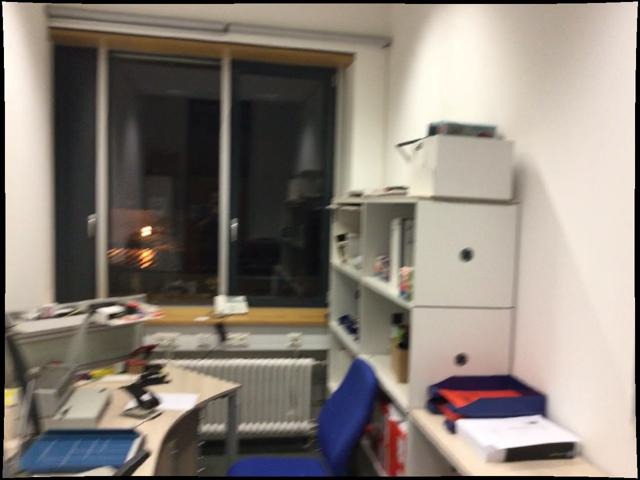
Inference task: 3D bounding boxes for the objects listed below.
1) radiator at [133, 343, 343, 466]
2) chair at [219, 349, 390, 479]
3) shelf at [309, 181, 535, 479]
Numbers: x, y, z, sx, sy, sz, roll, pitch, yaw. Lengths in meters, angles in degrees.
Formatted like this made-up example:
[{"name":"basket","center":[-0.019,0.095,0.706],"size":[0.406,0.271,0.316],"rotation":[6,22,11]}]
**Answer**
[{"name":"radiator","center":[-0.509,1.021,3.670],"size":[1.259,0.651,0.270],"rotation":[1,5,-12]},{"name":"chair","center":[-0.100,0.981,2.500],"size":[0.649,0.901,0.440],"rotation":[1,5,-12]},{"name":"shelf","center":[0.330,0.591,2.880],"size":[0.400,1.742,1.780],"rotation":[1,5,-12]}]
